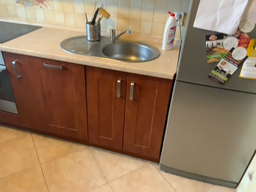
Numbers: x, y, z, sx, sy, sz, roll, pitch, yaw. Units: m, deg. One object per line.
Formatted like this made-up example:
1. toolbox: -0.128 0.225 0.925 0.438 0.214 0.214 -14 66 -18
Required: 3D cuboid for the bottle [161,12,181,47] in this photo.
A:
1. bottle: 0.320 -0.500 1.600 0.110 0.220 0.110 9 33 7
